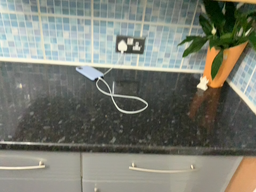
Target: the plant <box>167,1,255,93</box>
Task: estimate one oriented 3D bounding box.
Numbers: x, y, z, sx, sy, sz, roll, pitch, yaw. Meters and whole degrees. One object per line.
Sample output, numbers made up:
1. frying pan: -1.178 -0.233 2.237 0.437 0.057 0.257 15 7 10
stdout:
1. plant: 0.430 -0.230 1.040 0.380 0.370 0.180 4 33 -4
